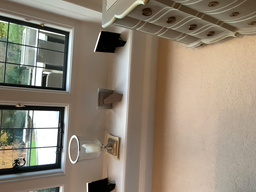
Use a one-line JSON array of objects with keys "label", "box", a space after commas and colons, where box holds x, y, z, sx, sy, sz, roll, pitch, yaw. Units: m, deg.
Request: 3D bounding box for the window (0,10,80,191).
[{"label": "window", "box": [-1.250, 0.330, 1.680, 0.090, 1.660, 2.100, 2, 88, 55]}]
